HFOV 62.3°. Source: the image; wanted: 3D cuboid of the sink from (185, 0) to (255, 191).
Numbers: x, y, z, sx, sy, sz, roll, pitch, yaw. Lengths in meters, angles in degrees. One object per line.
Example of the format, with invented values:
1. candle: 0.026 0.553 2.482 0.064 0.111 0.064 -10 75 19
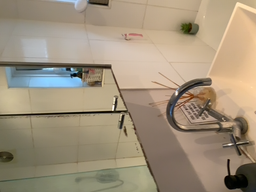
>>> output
1. sink: 0.430 0.010 0.650 0.550 0.130 0.450 -114 30 -52

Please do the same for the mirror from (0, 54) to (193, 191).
1. mirror: -0.300 0.060 0.650 0.800 0.780 0.030 -114 30 -52
